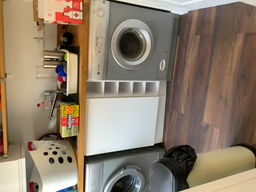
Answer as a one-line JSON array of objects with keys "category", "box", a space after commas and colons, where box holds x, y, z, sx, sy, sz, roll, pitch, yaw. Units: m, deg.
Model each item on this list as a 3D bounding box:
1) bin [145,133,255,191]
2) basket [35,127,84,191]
[{"category": "bin", "box": [0.470, 0.500, 1.300, 0.330, 0.640, 0.390, 18, 107, 61]}, {"category": "basket", "box": [-0.630, 0.530, 1.890, 0.590, 0.310, 0.290, 23, 112, 60]}]
